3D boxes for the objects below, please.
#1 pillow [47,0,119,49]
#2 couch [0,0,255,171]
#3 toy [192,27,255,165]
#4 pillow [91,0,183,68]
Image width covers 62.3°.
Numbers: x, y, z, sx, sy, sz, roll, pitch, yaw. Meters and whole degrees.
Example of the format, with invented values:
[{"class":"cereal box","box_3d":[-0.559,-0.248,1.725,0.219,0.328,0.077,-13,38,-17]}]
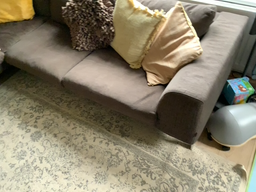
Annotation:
[{"class":"pillow","box_3d":[-0.380,-0.640,1.740,0.500,0.420,0.170,6,44,50]},{"class":"couch","box_3d":[-0.480,-0.590,1.960,2.710,0.700,1.050,25,55,24]},{"class":"toy","box_3d":[0.850,-0.030,1.510,0.380,0.490,0.800,27,56,25]},{"class":"pillow","box_3d":[0.050,-0.440,1.500,0.540,0.390,0.170,-1,38,47]}]
